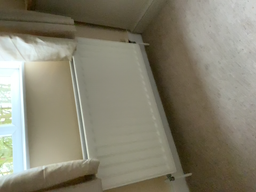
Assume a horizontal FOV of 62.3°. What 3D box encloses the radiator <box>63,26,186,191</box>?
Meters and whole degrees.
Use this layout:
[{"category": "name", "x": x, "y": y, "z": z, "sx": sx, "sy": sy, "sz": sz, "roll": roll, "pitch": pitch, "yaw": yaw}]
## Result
[{"category": "radiator", "x": -0.040, "y": 0.030, "z": 1.360, "sx": 0.110, "sy": 0.610, "sz": 0.990, "roll": -42, "pitch": 55, "yaw": 54}]
